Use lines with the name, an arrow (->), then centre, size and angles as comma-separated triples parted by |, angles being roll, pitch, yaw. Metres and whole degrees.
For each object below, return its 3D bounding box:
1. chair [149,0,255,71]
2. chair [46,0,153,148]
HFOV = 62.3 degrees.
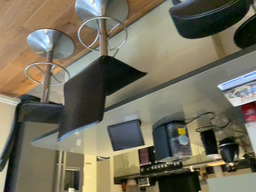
chair -> 0.350, -0.590, 1.060 | 0.390, 0.750, 0.370 | -22, 149, 31
chair -> -0.180, -0.230, 1.410 | 0.410, 1.010, 0.430 | -22, 149, 31
